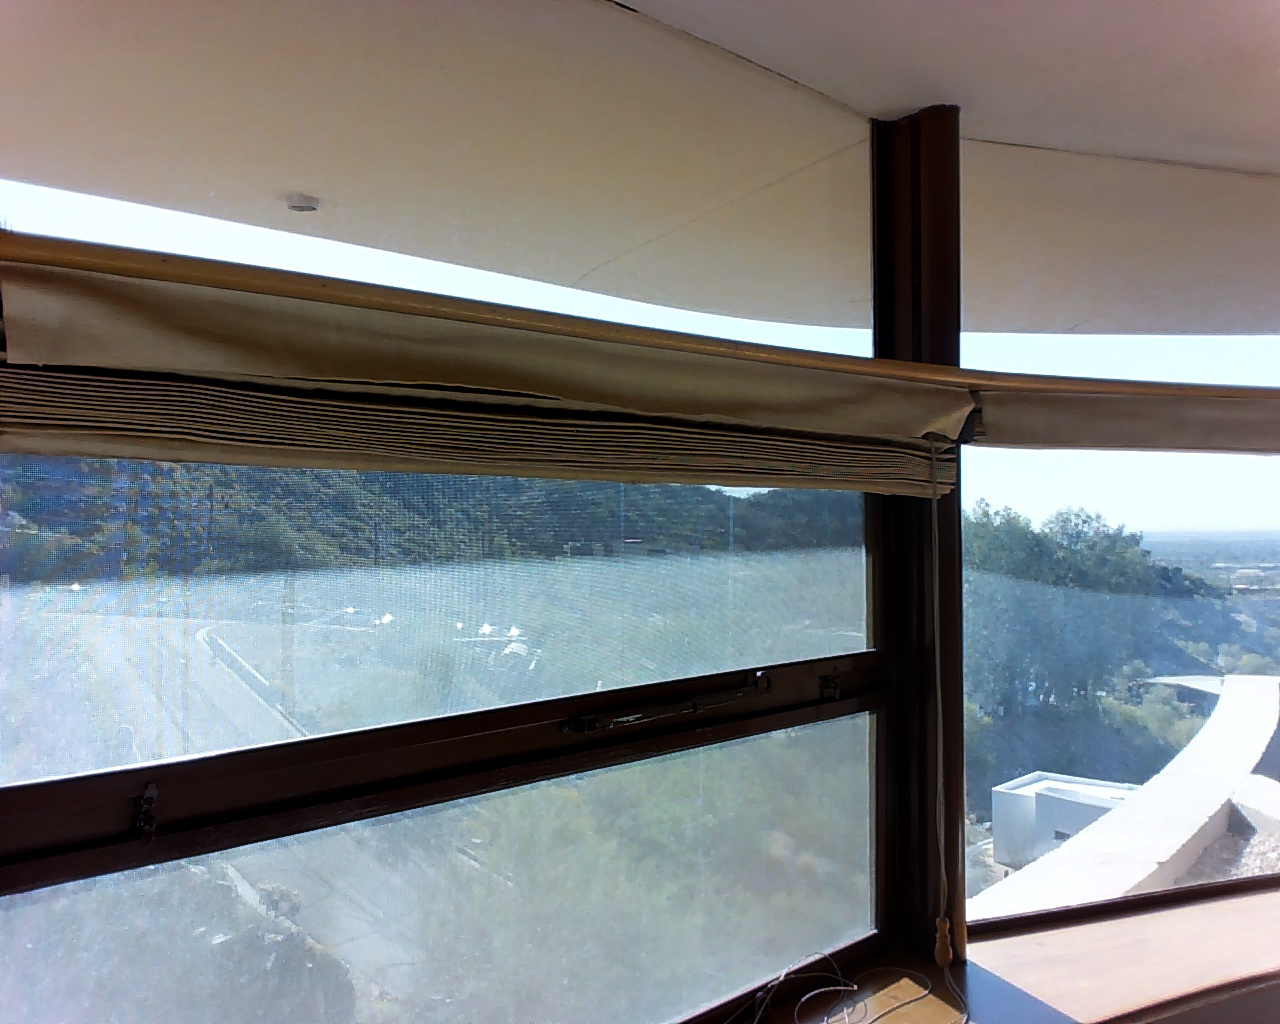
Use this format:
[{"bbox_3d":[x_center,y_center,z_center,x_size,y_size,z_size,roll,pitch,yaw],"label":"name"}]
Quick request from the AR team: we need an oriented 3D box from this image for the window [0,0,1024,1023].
[{"bbox_3d":[0.010,0.080,1.120,1.250,1.310,0.140,0,-2,-42],"label":"window"}]
